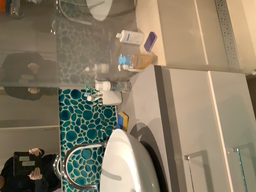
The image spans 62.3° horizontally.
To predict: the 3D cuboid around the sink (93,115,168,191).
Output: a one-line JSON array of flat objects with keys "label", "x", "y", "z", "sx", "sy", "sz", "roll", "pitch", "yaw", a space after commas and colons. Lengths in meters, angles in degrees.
[{"label": "sink", "x": 0.000, "y": 0.410, "z": 0.870, "sx": 0.380, "sy": 0.130, "sz": 0.610, "roll": -27, "pitch": 66, "yaw": 59}]
